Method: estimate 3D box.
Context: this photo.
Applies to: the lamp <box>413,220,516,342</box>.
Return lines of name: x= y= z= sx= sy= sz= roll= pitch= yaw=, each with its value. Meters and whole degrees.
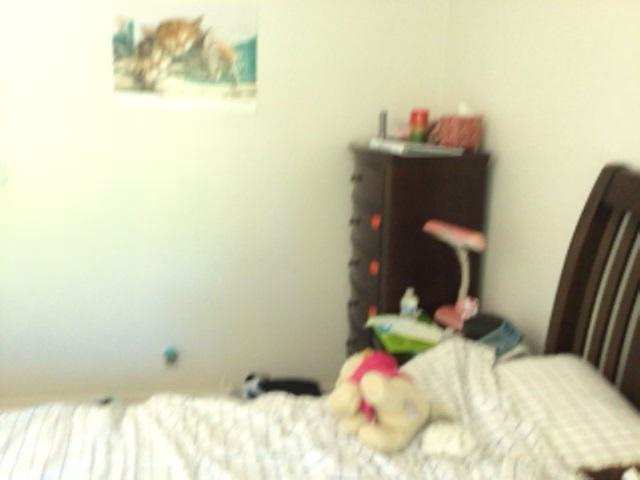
lamp: x=0.490 y=0.130 z=2.020 sx=0.220 sy=0.350 sz=0.310 roll=0 pitch=13 yaw=-9
